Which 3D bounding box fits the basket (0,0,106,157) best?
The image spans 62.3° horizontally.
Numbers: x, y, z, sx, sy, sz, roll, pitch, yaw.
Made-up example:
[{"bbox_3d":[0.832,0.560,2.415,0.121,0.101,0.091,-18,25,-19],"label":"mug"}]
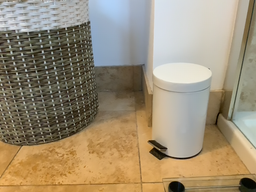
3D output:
[{"bbox_3d":[-0.370,-0.130,0.800,0.500,0.480,0.500,-2,25,-1],"label":"basket"}]
